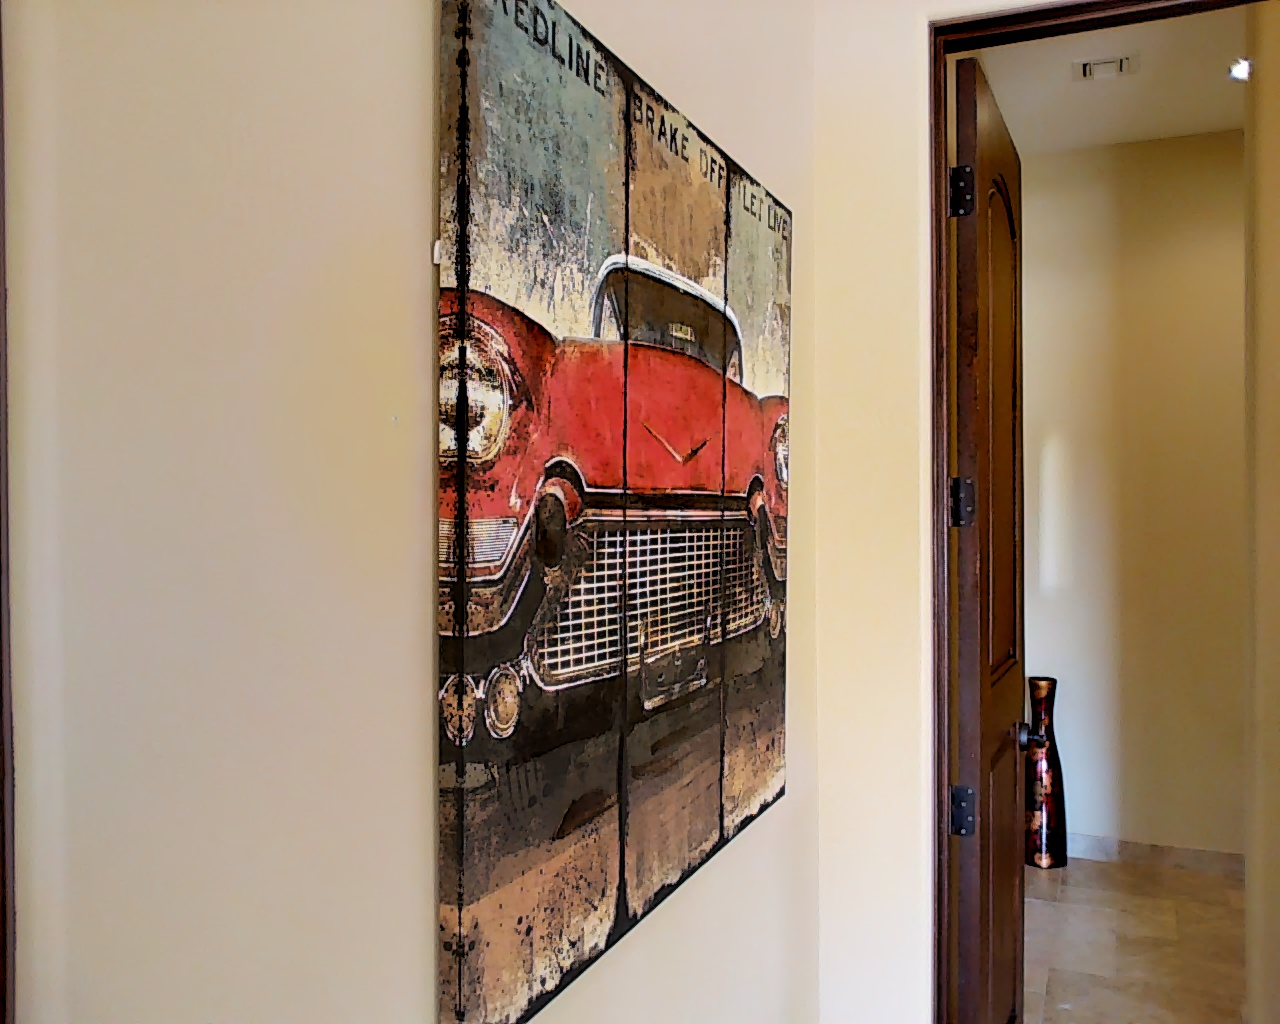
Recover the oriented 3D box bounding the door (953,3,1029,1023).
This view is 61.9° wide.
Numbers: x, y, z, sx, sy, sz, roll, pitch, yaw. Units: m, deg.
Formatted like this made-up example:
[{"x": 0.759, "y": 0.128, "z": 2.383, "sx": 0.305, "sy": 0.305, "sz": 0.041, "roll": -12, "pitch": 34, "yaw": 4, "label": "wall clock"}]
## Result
[{"x": 0.840, "y": 0.240, "z": 2.520, "sx": 0.070, "sy": 2.510, "sz": 0.820, "roll": 1, "pitch": 1, "yaw": 24, "label": "door"}]
